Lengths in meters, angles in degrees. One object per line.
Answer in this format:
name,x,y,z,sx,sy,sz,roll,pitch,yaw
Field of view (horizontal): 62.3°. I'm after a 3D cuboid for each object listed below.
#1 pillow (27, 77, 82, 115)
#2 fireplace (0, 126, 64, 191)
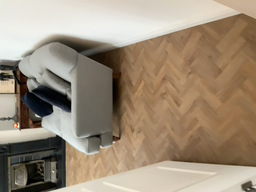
pillow,-0.860,0.000,2.490,0.450,0.470,0.160,-16,107,47
fireplace,-1.870,1.380,3.950,0.640,1.140,1.440,3,93,54
